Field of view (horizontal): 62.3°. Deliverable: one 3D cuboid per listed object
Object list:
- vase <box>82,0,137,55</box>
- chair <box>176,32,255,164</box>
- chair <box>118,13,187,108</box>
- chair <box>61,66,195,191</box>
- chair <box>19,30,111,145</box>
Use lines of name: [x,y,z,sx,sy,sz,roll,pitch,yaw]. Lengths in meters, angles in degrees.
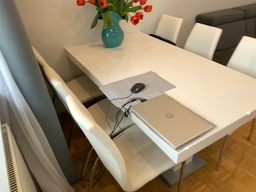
vase: [-0.170,-0.760,2.040,0.420,0.580,0.290,-21,38,-26]
chair: [0.830,0.010,1.830,0.600,0.920,0.420,-20,37,-25]
chair: [0.270,-0.430,2.520,0.600,0.920,0.410,-20,37,-25]
chair: [0.010,0.360,1.350,0.580,0.900,0.390,-22,38,-28]
chair: [-0.560,-0.090,2.070,0.600,0.890,0.420,-22,38,-28]
